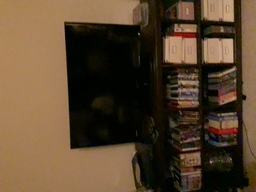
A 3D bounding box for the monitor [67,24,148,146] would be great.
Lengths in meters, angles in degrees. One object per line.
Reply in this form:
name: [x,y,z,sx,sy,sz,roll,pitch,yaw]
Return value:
monitor: [-0.150,-0.090,1.750,0.050,0.640,0.950,-167,75,-75]
